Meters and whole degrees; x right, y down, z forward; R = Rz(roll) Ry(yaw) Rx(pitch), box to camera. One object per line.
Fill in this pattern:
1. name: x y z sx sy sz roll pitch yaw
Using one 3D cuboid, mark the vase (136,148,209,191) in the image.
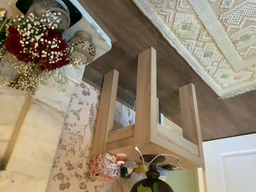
1. vase: 0.230 0.460 1.100 0.280 0.280 0.240 -21 140 36
